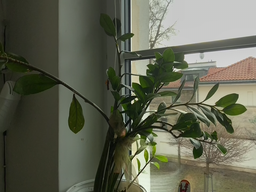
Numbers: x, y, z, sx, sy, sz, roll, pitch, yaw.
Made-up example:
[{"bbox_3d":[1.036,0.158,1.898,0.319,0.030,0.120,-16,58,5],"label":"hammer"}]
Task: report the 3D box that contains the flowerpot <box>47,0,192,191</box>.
[{"bbox_3d":[-0.020,0.220,0.740,0.390,0.950,0.320,0,-1,33],"label":"flowerpot"}]
